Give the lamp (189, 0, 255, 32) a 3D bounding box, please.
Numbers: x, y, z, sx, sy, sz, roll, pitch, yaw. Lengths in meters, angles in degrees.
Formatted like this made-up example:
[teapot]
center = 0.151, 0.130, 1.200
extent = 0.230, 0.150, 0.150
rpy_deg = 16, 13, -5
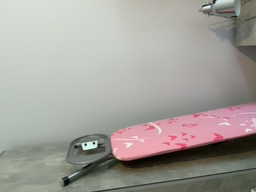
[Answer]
[lamp]
center = 0.500, -0.440, 1.100
extent = 0.240, 0.280, 0.170
rpy_deg = -128, 35, -79
